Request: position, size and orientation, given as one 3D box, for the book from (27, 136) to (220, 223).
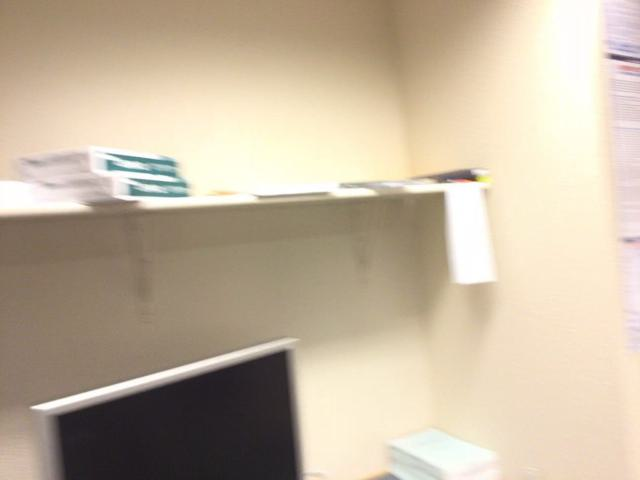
[{"bbox_3d":[-0.430,-0.130,1.250,0.350,0.120,0.240,-6,-5,-28],"label":"book"}]
